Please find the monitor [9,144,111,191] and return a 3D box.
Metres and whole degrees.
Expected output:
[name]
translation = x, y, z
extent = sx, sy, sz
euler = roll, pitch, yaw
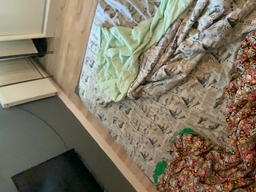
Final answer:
[monitor]
translation = -0.390, 0.860, 1.630
extent = 0.980, 0.580, 0.050
euler = 44, 130, 23
